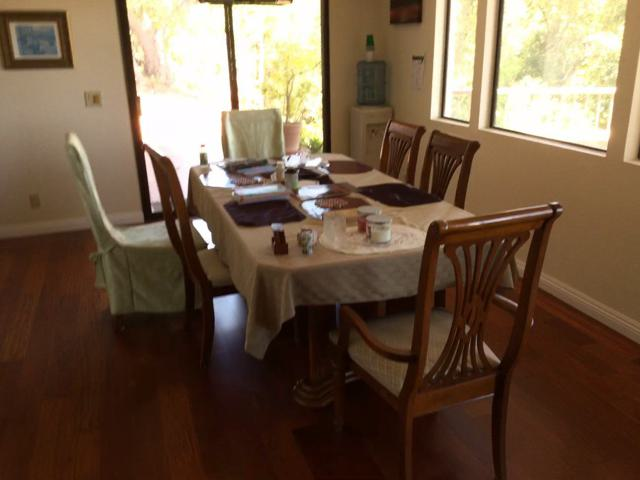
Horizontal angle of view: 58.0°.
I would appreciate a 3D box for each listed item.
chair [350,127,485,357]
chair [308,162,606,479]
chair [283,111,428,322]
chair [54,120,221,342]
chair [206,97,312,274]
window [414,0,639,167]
[{"bbox_3d":[0.460,-0.020,2.950,0.450,1.040,0.510,-6,17,-17],"label":"chair"},{"bbox_3d":[0.410,0.330,2.020,0.680,1.040,0.670,-8,19,-18],"label":"chair"},{"bbox_3d":[0.200,-0.170,3.380,0.650,1.060,0.530,-8,19,-17],"label":"chair"},{"bbox_3d":[-1.000,-0.090,3.250,0.690,1.040,0.600,-8,19,-18],"label":"chair"},{"bbox_3d":[-0.430,-0.410,4.040,0.530,1.080,0.630,-8,19,-17],"label":"chair"},{"bbox_3d":[1.300,-1.210,3.170,0.310,1.330,2.700,-8,19,-17],"label":"window"}]
